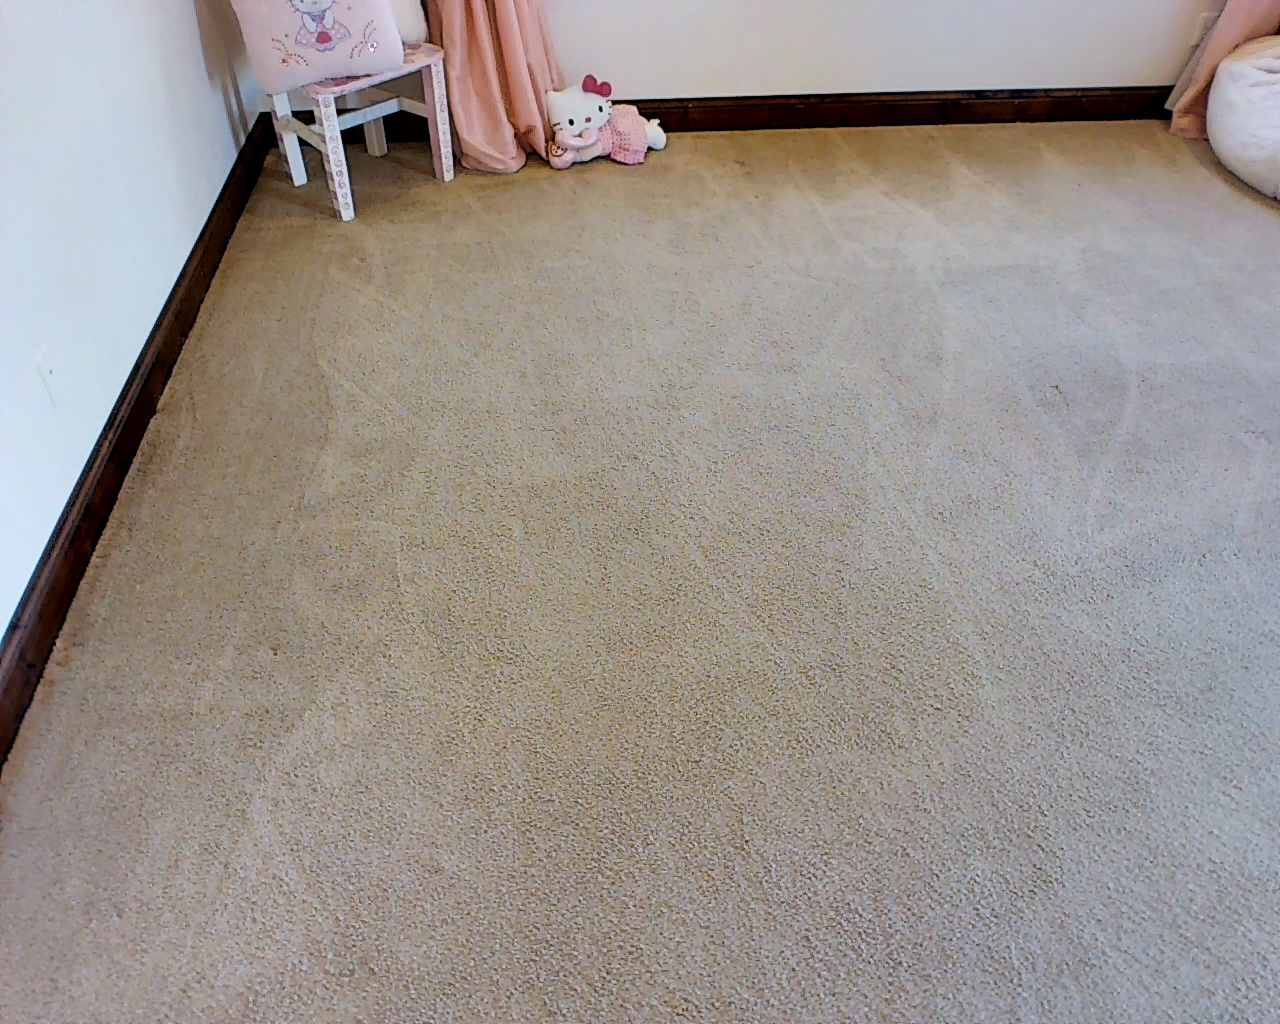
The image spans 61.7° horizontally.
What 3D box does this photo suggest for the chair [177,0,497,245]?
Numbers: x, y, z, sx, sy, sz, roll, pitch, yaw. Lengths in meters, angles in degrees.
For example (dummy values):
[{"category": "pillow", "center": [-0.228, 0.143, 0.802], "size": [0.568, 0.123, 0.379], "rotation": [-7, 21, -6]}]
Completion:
[{"category": "chair", "center": [-1.000, -1.550, 3.510], "size": [0.730, 0.970, 0.660], "rotation": [32, 50, 32]}]
